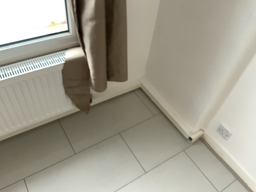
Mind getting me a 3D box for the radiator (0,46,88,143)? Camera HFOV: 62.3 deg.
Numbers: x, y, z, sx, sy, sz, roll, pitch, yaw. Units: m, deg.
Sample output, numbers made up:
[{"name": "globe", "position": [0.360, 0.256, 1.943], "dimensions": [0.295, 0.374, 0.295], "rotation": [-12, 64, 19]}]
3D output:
[{"name": "radiator", "position": [-0.770, 0.110, 1.060], "dimensions": [1.190, 0.450, 0.080], "rotation": [-23, 55, -26]}]
